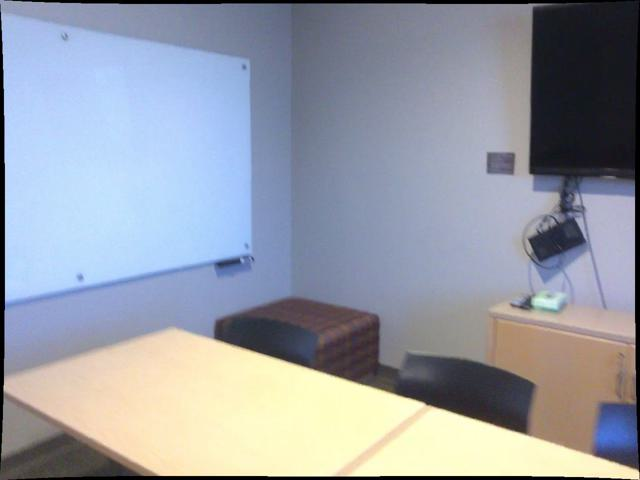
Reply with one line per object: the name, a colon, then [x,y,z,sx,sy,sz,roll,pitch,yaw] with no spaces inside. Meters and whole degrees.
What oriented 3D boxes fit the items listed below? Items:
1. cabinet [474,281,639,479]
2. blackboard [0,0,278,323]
cabinet: [1.468,0.721,2.540,1.369,0.791,0.570,8,12,36]
blackboard: [-1.098,-0.391,2.740,0.110,1.362,2.609,8,12,36]
